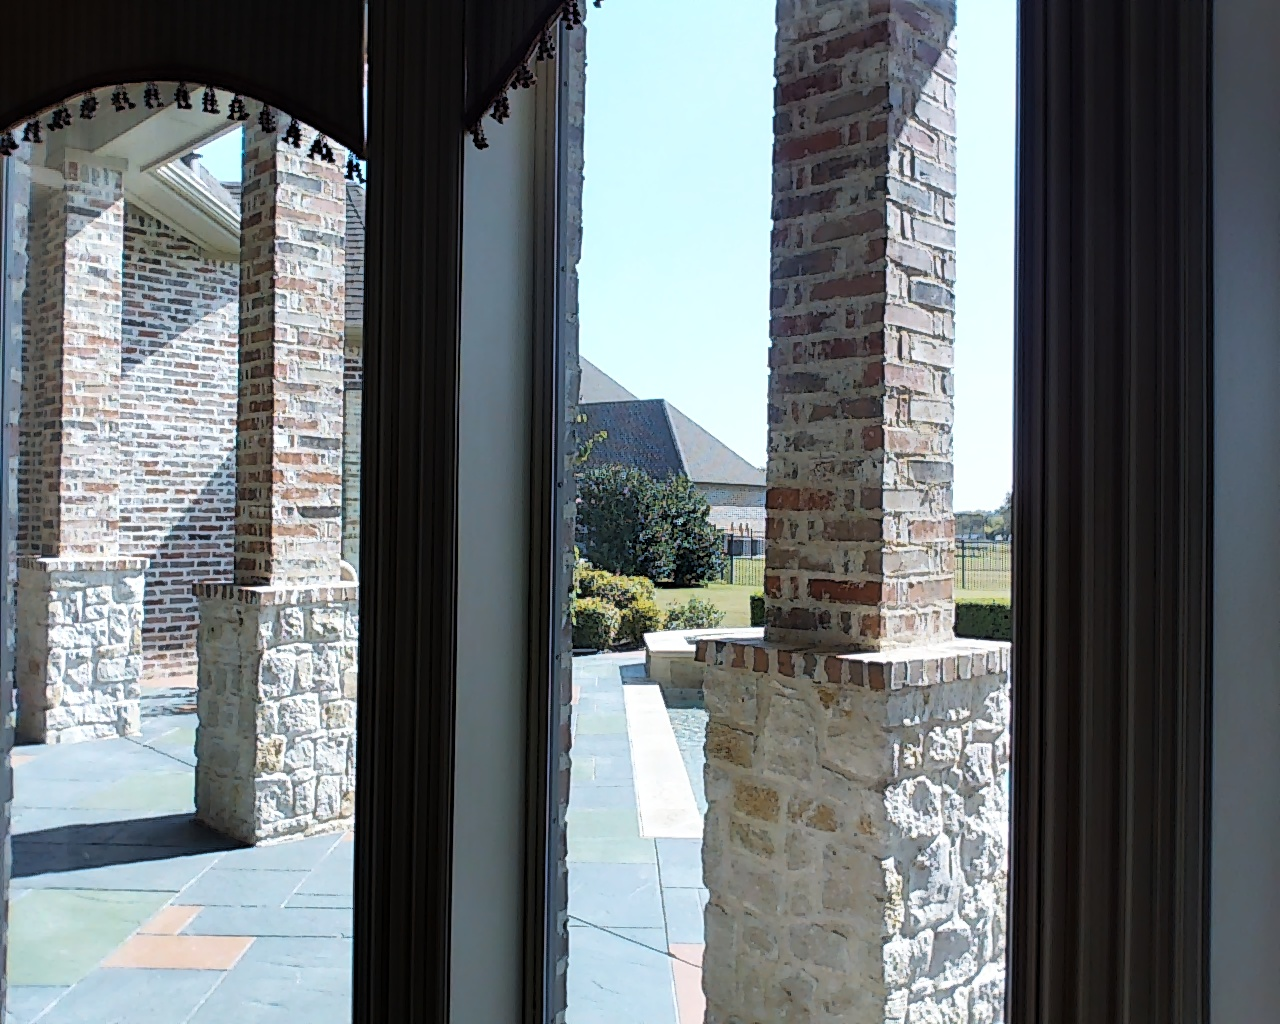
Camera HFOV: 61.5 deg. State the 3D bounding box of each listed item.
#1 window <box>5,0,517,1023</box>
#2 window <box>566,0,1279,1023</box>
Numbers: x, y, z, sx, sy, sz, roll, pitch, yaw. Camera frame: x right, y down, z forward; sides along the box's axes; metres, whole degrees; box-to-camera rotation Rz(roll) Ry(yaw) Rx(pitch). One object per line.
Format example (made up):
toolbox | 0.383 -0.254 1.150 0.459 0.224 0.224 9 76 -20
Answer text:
window | -0.720 0.080 2.030 0.940 2.211 0.120 1 -1 10
window | 0.350 0.040 1.490 1.150 2.271 0.140 0 -1 44
